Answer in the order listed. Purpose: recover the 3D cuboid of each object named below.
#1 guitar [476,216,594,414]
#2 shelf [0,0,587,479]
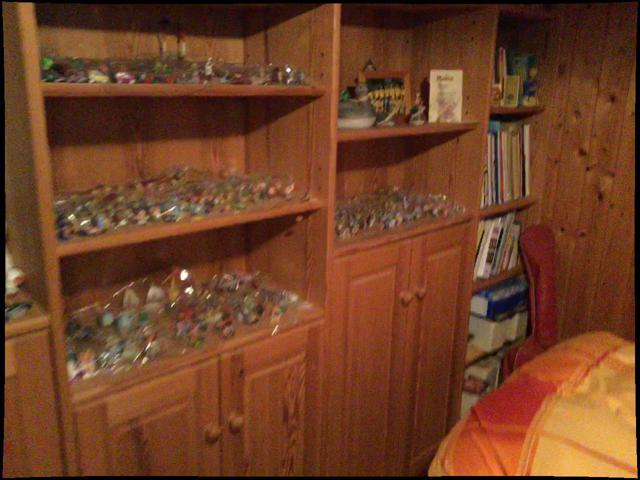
[{"bbox_3d":[0.869,0.290,2.370,0.290,0.701,0.280,-13,21,-39],"label":"guitar"},{"bbox_3d":[0.080,-0.180,1.850,2.009,1.912,0.460,-13,21,-39],"label":"shelf"}]
